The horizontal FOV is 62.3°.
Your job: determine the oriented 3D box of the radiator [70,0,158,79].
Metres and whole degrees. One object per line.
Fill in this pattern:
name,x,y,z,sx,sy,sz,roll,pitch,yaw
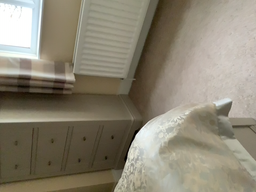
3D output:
radiator,-0.130,-0.550,1.820,0.070,0.590,0.850,60,139,47
